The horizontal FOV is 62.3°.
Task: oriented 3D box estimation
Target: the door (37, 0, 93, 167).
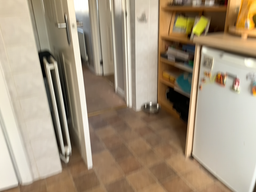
[{"bbox_3d":[-0.510,-0.540,1.460,0.060,2.000,0.800,-14,27,-26],"label":"door"}]
